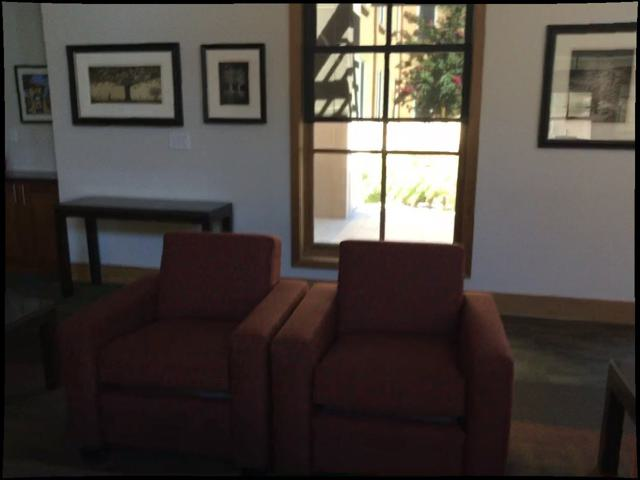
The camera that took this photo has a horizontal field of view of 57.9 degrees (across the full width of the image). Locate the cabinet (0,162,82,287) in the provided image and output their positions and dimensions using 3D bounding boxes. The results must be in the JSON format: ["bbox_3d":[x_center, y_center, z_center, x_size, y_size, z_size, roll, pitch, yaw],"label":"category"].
[{"bbox_3d":[-2.727,-0.180,4.860,1.489,0.931,0.190,8,15,13],"label":"cabinet"}]
